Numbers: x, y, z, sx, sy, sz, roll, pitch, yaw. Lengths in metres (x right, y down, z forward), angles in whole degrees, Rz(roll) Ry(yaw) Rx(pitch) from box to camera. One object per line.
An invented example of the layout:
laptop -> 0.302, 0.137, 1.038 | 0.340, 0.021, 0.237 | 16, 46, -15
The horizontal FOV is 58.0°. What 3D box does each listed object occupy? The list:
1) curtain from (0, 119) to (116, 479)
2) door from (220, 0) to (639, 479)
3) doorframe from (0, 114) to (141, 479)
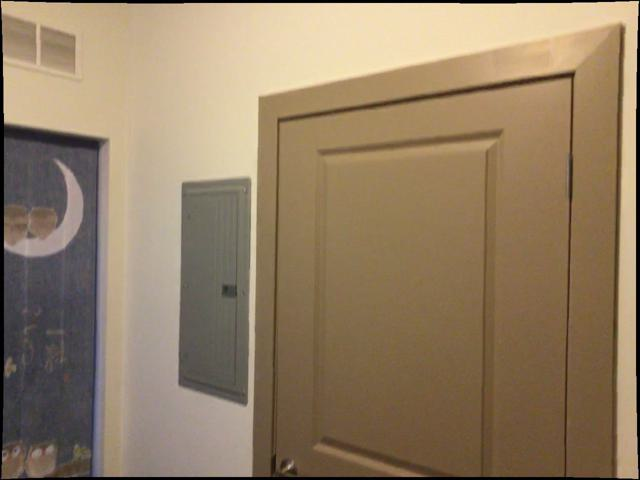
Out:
curtain -> -1.197, 0.401, 2.110 | 0.180, 1.654, 0.859 | 5, 5, 41
door -> 0.200, 0.571, 1.560 | 1.278, 2.175, 0.150 | 5, 5, 41
doorframe -> -1.177, 0.551, 2.120 | 0.280, 1.975, 0.969 | 5, 5, 41
